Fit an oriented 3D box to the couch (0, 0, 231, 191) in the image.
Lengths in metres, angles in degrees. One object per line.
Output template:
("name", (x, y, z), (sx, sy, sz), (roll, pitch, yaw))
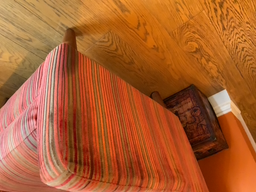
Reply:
("couch", (-0.130, 0.370, 0.950), (0.780, 0.880, 0.930), (-33, 137, 29))
